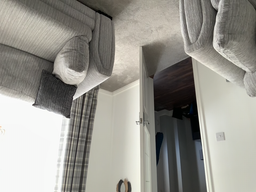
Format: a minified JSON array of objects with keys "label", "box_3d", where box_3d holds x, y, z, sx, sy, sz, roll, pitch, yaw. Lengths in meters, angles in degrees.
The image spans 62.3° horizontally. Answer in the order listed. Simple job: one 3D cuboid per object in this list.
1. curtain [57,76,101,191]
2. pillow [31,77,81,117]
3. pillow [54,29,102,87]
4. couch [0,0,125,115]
[{"label":"curtain","box_3d":[-0.700,0.810,3.080,0.480,2.230,0.160,19,151,-39]},{"label":"pillow","box_3d":[-0.690,0.020,2.110,0.410,0.290,0.270,5,158,-10]},{"label":"pillow","box_3d":[-0.460,-0.320,1.930,0.220,0.320,0.430,17,153,-36]},{"label":"couch","box_3d":[-1.140,-0.550,1.780,2.060,0.850,0.990,17,153,-36]}]
